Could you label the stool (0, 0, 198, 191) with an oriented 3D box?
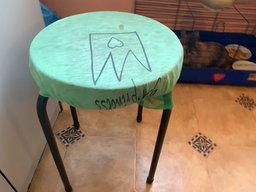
[{"bbox_3d":[-0.050,0.010,0.620,0.320,0.460,0.330,5,43,0],"label":"stool"}]
